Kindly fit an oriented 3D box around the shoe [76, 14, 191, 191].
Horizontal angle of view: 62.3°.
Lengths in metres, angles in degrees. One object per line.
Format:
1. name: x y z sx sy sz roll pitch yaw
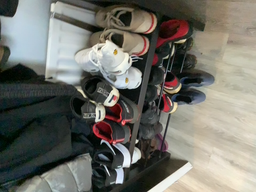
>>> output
1. shoe: 0.000 0.020 1.020 0.330 0.250 0.710 24 109 36
